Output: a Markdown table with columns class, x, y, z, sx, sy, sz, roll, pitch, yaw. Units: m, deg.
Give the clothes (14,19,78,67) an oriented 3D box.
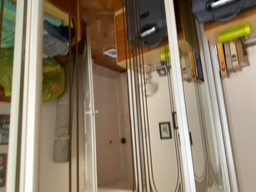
| class | x | y | z | sx | sy | sz | roll | pitch | yaw |
| --- | --- | --- | --- | --- | --- | --- | --- | --- | --- |
| clothes | -0.740 | -0.450 | 1.920 | 0.420 | 0.200 | 0.370 | -11 | 166 | 36 |
